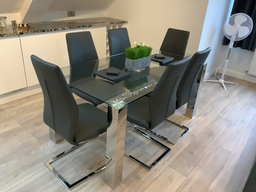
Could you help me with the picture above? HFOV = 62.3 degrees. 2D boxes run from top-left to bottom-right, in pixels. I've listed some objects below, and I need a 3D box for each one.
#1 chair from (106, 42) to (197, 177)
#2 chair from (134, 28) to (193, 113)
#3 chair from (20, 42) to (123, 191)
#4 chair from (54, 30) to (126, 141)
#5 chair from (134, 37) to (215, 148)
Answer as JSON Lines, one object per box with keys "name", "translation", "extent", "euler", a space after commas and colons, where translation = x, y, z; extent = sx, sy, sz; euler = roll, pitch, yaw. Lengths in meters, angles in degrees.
{"name": "chair", "translation": [0.170, 0.100, 1.970], "extent": [0.560, 1.030, 0.460], "euler": [23, 33, 33]}
{"name": "chair", "translation": [0.470, -0.370, 2.970], "extent": [0.460, 1.000, 0.540], "euler": [25, 34, 34]}
{"name": "chair", "translation": [-0.420, 0.160, 1.750], "extent": [0.480, 1.040, 0.530], "euler": [22, 32, 31]}
{"name": "chair", "translation": [-0.410, -0.140, 2.360], "extent": [0.550, 1.030, 0.460], "euler": [24, 33, 34]}
{"name": "chair", "translation": [0.470, -0.060, 2.350], "extent": [0.570, 1.020, 0.460], "euler": [23, 33, 33]}
